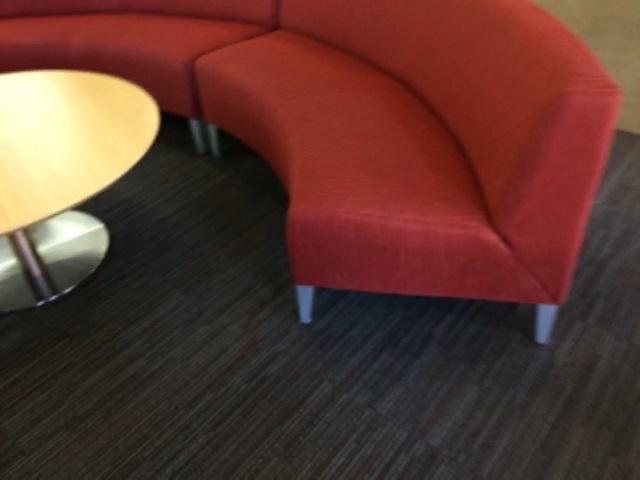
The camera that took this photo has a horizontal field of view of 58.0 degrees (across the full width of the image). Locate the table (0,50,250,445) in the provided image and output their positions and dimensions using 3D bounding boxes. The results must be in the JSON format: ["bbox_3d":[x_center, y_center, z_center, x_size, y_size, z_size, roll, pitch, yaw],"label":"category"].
[{"bbox_3d":[-0.950,-0.110,1.830,0.990,0.490,1.030,18,43,24],"label":"table"}]

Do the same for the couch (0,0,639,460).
[{"bbox_3d":[-0.380,-0.680,2.230,3.040,0.800,1.330,24,46,29],"label":"couch"}]
